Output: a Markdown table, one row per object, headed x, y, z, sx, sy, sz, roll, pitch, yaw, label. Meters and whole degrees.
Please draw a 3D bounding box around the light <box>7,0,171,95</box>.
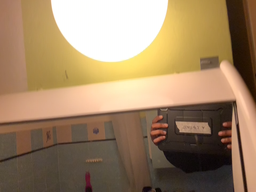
| x | y | z | sx | sy | sz | roll | pitch | yaw | label |
| --- | --- | --- | --- | --- | --- | --- | --- | --- | --- |
| -0.060 | -0.180 | 0.400 | 0.240 | 0.200 | 0.300 | 80 | 3 | -81 | light |
